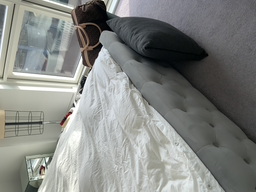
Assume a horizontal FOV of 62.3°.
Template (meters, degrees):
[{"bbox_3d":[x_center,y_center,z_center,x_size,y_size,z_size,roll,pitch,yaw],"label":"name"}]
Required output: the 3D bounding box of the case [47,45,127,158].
[{"bbox_3d":[-0.490,0.110,2.250,0.360,0.350,1.200,55,128,37],"label":"case"}]

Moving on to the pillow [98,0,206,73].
[{"bbox_3d":[0.140,-0.400,1.370,0.520,0.470,0.190,54,127,38],"label":"pillow"}]

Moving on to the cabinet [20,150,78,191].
[{"bbox_3d":[-0.980,0.970,2.610,0.360,0.530,0.420,54,127,38],"label":"cabinet"}]
